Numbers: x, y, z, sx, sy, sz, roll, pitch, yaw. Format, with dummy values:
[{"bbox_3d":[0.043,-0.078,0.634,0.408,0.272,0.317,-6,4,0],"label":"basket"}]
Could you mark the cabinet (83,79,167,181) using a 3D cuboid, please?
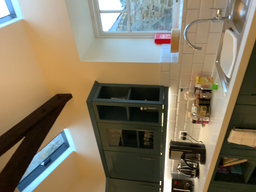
[{"bbox_3d":[0.030,0.490,2.630,0.350,0.810,1.450,-77,-14,-48],"label":"cabinet"}]
